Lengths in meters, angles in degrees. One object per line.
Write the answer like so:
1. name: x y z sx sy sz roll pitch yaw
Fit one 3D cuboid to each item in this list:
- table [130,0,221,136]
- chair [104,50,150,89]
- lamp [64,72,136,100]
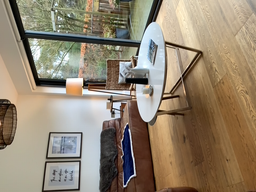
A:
1. table: 0.400 -0.290 2.470 1.080 0.460 1.130 107 161 -53
2. chair: -0.050 -0.460 4.000 0.710 0.740 0.630 -168 80 -78
3. lamp: -0.630 -0.220 4.810 0.420 1.540 0.440 118 152 -65
